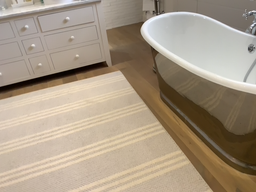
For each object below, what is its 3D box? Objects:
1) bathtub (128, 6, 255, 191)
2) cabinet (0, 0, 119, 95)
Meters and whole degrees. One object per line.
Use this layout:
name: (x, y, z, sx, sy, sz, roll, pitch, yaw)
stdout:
bathtub: (0.650, -0.130, 1.610, 0.770, 0.690, 1.570, -15, 34, -13)
cabinet: (-1.090, -0.660, 2.620, 1.780, 0.870, 0.580, -15, 34, -12)
